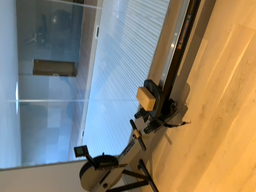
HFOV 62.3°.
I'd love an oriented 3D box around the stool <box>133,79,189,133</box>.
[{"bbox_3d":[0.300,0.090,2.040,0.310,0.330,0.390,-123,41,-50],"label":"stool"}]
